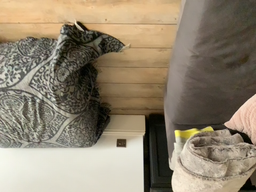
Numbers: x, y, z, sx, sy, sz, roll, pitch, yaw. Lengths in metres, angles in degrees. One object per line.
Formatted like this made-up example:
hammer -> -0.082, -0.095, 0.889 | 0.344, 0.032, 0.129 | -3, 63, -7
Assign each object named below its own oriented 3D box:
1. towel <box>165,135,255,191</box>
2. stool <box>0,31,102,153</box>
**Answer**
towel -> 0.500, 0.460, 1.280 | 0.490, 0.230, 0.500 | -1, 141, 3
stool -> -0.730, 0.030, 1.610 | 0.920, 0.440, 0.900 | 0, 141, 2
